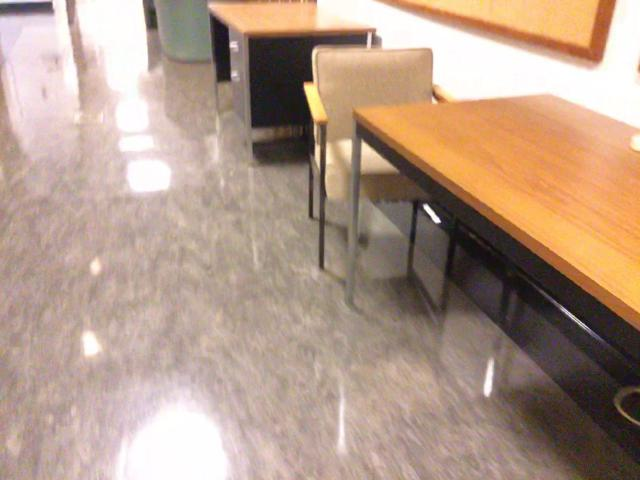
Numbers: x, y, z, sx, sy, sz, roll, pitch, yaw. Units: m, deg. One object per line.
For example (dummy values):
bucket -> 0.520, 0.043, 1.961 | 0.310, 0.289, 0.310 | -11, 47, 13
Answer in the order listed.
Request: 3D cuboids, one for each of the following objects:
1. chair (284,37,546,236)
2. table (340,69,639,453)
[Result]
chair -> 0.320, -0.470, 2.370 | 0.760, 0.500, 0.740 | -9, 33, -16
table -> 0.670, -0.090, 1.360 | 0.770, 0.170, 1.510 | -9, 33, -16
